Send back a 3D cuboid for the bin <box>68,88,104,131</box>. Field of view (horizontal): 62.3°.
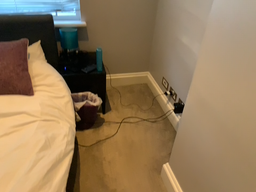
[{"bbox_3d":[-0.370,0.120,1.900,0.280,0.290,0.200,-7,37,-16],"label":"bin"}]

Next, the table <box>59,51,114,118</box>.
[{"bbox_3d":[-0.420,-0.130,2.120,0.450,0.450,0.470,-6,37,-15],"label":"table"}]
